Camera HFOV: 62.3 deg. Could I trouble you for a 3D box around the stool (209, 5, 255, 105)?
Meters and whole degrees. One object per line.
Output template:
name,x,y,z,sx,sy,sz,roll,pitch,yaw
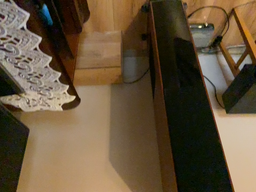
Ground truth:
stool,0.760,-0.240,1.290,0.310,0.480,0.350,1,150,-2
